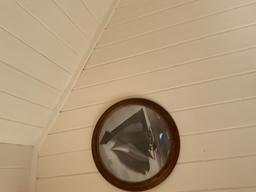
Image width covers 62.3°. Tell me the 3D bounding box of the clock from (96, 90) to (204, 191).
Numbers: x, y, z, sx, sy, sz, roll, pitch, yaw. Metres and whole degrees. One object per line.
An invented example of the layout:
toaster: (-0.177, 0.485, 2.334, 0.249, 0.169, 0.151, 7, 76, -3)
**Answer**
clock: (0.080, 0.250, 1.080, 0.030, 0.490, 0.480, 41, -140, -65)
